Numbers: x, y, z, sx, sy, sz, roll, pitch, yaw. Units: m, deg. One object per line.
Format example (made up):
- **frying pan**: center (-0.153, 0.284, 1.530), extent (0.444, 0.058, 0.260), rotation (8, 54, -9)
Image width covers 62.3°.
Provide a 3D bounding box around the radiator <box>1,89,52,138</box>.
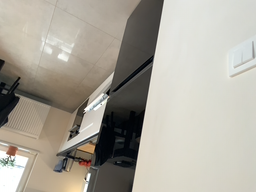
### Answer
- **radiator**: center (-1.710, 0.300, 3.620), extent (0.580, 0.640, 0.180), rotation (25, 150, -24)
